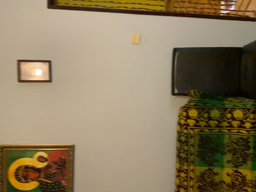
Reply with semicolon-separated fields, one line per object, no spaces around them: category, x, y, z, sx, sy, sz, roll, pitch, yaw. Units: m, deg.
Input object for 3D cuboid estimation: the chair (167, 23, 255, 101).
chair;0.870;-0.210;1.650;0.640;0.940;0.460;-156;68;-83
